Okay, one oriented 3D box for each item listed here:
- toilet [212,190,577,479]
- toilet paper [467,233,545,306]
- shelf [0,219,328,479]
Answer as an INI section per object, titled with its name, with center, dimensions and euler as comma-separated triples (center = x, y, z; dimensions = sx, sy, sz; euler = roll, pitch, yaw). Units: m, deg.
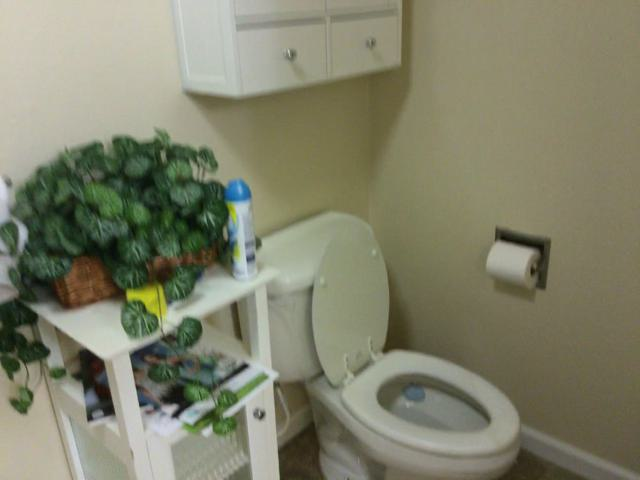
[toilet]
center = 0.190, 0.380, 1.600
dimensions = 0.740, 0.830, 0.530
euler = 15, 28, 40
[toilet paper]
center = 0.530, 0.080, 1.660
dimensions = 0.190, 0.150, 0.080
euler = 15, 28, 40
[shelf]
center = -0.300, 0.480, 1.300
dimensions = 0.450, 0.900, 0.440
euler = 15, 28, 40
